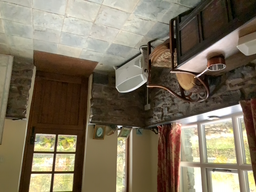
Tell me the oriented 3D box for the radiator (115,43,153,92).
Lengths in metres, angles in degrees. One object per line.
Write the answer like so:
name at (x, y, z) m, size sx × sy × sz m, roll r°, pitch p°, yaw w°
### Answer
radiator at (0.070, -0.380, 3.020) m, size 0.200 × 0.470 × 0.670 m, roll 10°, pitch 162°, yaw -29°

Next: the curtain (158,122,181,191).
curtain at (0.590, 0.990, 3.070) m, size 0.140 × 1.180 × 0.320 m, roll 7°, pitch 163°, yaw -22°
